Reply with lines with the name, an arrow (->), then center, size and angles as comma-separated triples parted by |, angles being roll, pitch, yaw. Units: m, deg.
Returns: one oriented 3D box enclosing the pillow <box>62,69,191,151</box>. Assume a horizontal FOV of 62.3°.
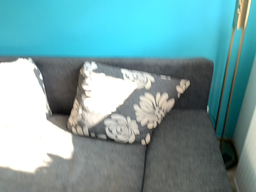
pillow -> -0.020, 0.070, 1.280 | 0.720, 0.420, 0.150 | 3, 12, 9
